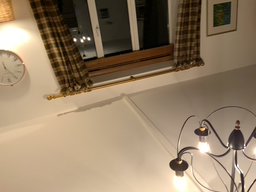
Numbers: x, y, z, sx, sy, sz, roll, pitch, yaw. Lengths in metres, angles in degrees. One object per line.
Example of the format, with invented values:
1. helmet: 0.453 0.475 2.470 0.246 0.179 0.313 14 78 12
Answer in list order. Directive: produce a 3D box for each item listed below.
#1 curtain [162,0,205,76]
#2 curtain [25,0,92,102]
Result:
1. curtain: 0.710 -1.280 2.700 0.510 2.000 0.190 -14 -156 -13
2. curtain: -0.770 -0.680 2.320 0.450 1.500 0.120 -14 -156 -13
